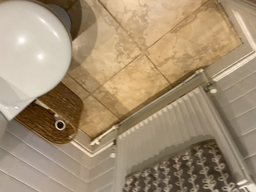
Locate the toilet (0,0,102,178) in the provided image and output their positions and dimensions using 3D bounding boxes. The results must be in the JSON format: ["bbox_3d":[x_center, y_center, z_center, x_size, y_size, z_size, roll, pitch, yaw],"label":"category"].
[{"bbox_3d":[-0.520,-0.100,0.900,0.670,0.800,0.390,-35,118,21],"label":"toilet"}]
